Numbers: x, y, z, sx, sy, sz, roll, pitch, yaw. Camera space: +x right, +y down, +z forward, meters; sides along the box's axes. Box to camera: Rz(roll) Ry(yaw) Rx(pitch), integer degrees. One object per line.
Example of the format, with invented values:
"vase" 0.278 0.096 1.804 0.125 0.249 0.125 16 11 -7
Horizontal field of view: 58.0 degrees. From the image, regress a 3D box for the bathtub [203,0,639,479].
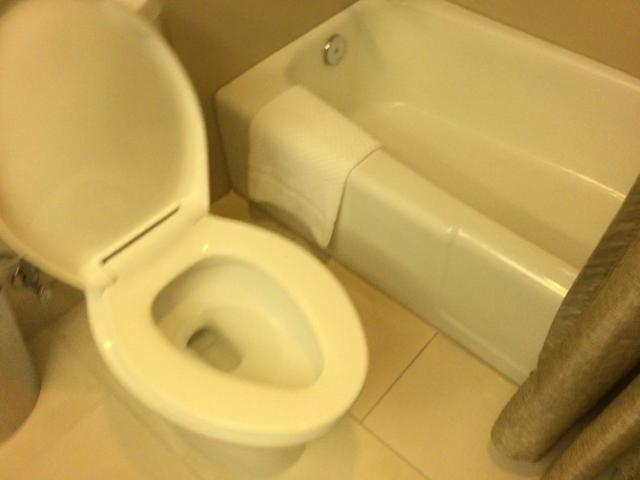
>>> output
"bathtub" 0.510 -0.100 1.370 1.440 0.390 0.750 36 60 26
